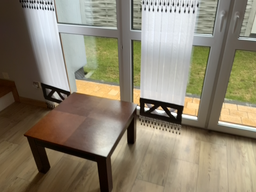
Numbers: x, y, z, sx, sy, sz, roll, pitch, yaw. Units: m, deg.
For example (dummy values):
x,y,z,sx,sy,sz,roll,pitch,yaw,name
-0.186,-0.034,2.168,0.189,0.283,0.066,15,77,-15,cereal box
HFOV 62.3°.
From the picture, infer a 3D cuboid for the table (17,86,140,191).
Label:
x,y,z,sx,sy,sz,roll,pitch,yaw,name
-0.350,0.300,1.800,0.690,0.390,0.700,12,33,19,table
